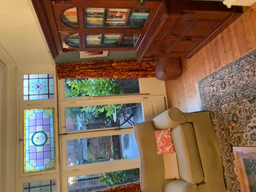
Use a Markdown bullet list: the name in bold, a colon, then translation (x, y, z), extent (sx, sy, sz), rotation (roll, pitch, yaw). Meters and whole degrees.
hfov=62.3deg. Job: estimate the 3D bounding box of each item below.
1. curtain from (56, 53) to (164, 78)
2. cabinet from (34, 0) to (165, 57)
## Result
- **curtain**: translation (-0.330, -0.610, 4.190), extent (0.310, 2.030, 0.370), rotation (131, 135, -72)
- **cabinet**: translation (-0.360, -0.890, 2.570), extent (1.230, 1.200, 0.350), rotation (133, 133, -73)
